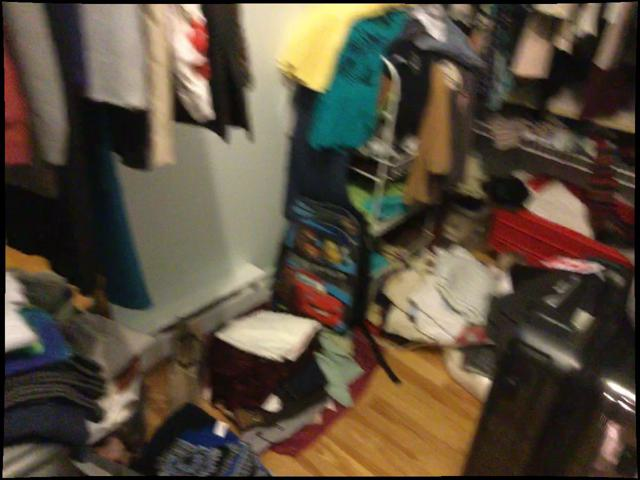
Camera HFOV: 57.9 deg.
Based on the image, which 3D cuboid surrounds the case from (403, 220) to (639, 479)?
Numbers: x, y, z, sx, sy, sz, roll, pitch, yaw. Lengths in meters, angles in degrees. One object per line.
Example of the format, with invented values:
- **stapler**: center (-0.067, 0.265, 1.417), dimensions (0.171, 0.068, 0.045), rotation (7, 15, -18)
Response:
- **case**: center (0.490, 0.400, 1.170), dimensions (0.390, 0.640, 0.520), rotation (29, 41, 34)
